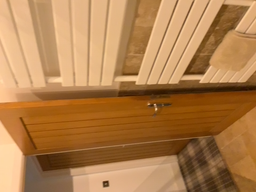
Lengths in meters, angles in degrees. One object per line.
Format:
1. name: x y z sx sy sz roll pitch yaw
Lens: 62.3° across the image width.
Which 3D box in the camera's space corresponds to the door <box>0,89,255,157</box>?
1. door: 0.100 0.250 1.830 0.890 1.980 0.040 109 154 -55
